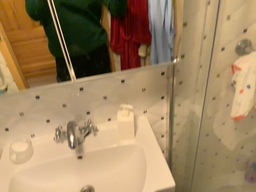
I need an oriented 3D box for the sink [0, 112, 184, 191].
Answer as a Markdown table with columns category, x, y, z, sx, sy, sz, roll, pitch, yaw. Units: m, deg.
| category | x | y | z | sx | sy | sz | roll | pitch | yaw |
| --- | --- | --- | --- | --- | --- | --- | --- | --- | --- |
| sink | -0.180 | 0.330 | 0.820 | 0.660 | 0.210 | 0.400 | -10 | 37 | -6 |
